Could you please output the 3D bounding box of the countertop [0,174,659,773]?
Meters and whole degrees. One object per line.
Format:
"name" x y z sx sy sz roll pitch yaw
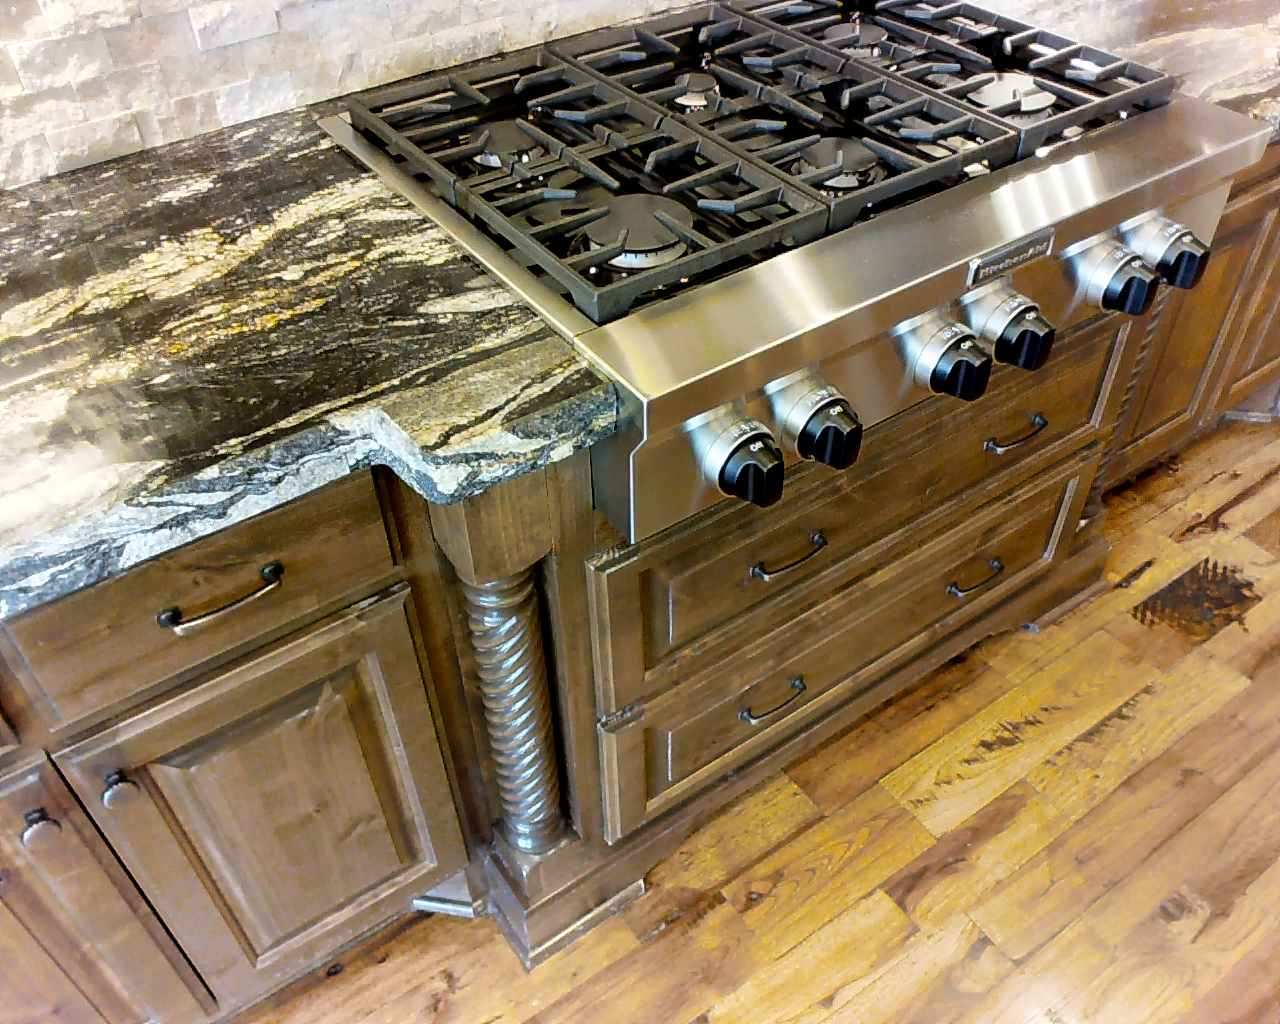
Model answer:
"countertop" -0.460 0.000 0.840 0.950 0.170 0.300 -26 48 -24
